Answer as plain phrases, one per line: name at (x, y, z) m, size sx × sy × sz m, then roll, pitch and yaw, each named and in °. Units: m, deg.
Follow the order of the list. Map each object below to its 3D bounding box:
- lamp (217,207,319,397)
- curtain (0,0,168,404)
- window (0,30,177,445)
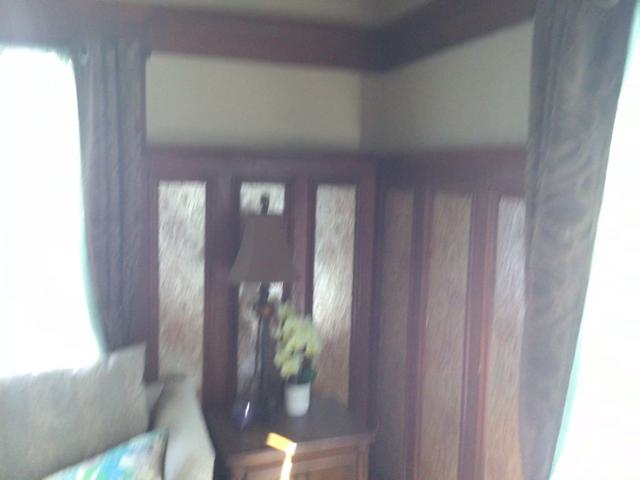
lamp at (-0.220, 0.240, 2.360) m, size 0.300 × 0.710 × 0.330 m, roll 4°, pitch -2°, yaw -20°
curtain at (-1.470, -0.180, 2.040) m, size 1.700 × 1.450 × 0.350 m, roll 4°, pitch -2°, yaw -20°
window at (-1.430, -0.060, 2.120) m, size 1.510 × 1.440 × 0.300 m, roll 10°, pitch 0°, yaw -18°
